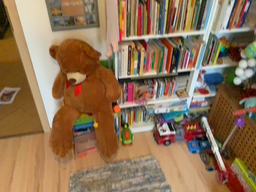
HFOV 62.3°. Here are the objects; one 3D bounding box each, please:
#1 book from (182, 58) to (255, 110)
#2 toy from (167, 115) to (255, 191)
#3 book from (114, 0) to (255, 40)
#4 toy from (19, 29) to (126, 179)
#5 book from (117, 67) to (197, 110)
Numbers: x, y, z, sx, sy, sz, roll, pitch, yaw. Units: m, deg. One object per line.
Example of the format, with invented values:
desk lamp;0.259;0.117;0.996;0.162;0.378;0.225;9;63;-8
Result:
book;0.840;-0.120;2.000;0.520;0.370;0.250;-6;40;-11
toy;0.670;0.510;1.770;0.390;0.170;0.770;-7;40;-13
book;0.590;-0.630;1.520;1.350;0.280;0.270;-7;40;-12
toy;-0.340;0.100;1.620;0.540;1.050;0.490;-4;39;-9
book;0.240;-0.070;1.880;0.650;0.280;0.170;-6;40;-11
